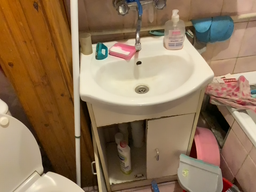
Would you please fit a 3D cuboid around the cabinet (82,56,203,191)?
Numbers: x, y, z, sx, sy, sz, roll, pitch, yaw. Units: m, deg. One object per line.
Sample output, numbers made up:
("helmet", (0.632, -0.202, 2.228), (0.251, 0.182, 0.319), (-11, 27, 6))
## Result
("cabinet", (0.060, 0.200, 1.200), (0.490, 0.720, 0.320), (-8, 41, -4))
